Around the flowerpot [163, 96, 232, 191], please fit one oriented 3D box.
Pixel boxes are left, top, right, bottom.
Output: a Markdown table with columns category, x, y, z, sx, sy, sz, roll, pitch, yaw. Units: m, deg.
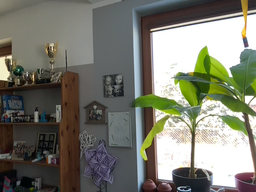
| category | x | y | z | sx | sy | sz | roll | pitch | yaw |
| --- | --- | --- | --- | --- | --- | --- | --- | --- | --- |
| flowerpot | 0.590 | 0.490 | 1.800 | 0.480 | 0.950 | 0.350 | -3 | -3 | 22 |

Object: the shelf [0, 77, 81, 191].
| category | x | y | z | sx | sy | sz | roll | pitch | yaw |
| --- | --- | --- | --- | --- | --- | --- | --- | --- | --- |
| shelf | -0.970 | 0.400 | 2.110 | 1.050 | 1.070 | 0.230 | -3 | -4 | 25 |

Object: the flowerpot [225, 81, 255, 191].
| category | x | y | z | sx | sy | sz | roll | pitch | yaw |
| --- | --- | --- | --- | --- | --- | --- | --- | --- | --- |
| flowerpot | 0.880 | 0.410 | 1.430 | 0.340 | 1.000 | 0.290 | -3 | -4 | 29 |
